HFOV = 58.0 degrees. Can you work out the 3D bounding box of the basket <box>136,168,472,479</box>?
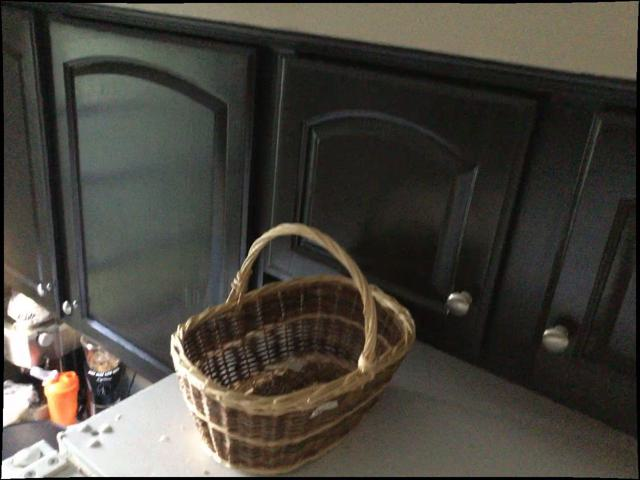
[{"bbox_3d":[-0.020,0.100,0.710,0.240,0.260,0.310,26,31,29],"label":"basket"}]
